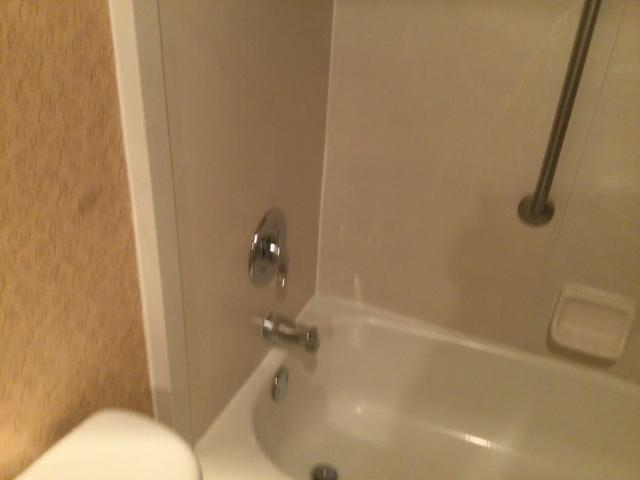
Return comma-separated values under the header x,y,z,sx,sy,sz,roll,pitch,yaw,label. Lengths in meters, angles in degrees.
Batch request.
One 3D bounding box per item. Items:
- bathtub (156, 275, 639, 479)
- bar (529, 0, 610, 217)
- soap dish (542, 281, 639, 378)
x,y,z,sx,sy,sz,roll,pitch,yaw,label
0.480,0.620,1.230,1.410,0.430,0.730,14,33,18,bathtub
0.500,-0.320,1.130,0.040,0.580,0.080,14,33,18,bar
0.620,0.200,1.310,0.180,0.150,0.090,14,33,18,soap dish
